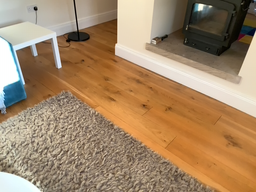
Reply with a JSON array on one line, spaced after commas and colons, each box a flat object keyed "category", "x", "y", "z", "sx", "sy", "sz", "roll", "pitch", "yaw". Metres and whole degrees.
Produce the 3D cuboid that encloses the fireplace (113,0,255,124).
[{"category": "fireplace", "x": 0.910, "y": -0.950, "z": 2.220, "sx": 2.070, "sy": 1.630, "sz": 0.930, "roll": 30, "pitch": 44, "yaw": 30}]
